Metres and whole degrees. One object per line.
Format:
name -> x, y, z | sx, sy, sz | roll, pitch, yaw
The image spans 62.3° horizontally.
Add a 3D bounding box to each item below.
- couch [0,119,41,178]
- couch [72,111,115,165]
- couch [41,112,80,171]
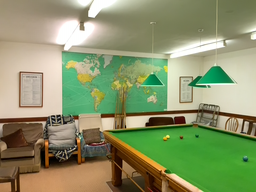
couch -> -2.120, 0.930, 3.990 | 0.890, 0.810, 0.950 | 0, 3, -22
couch -> -0.800, 0.860, 4.710 | 0.730, 0.930, 1.000 | 0, 3, -22
couch -> -1.440, 0.870, 4.410 | 0.690, 0.920, 1.050 | 0, 3, -22
